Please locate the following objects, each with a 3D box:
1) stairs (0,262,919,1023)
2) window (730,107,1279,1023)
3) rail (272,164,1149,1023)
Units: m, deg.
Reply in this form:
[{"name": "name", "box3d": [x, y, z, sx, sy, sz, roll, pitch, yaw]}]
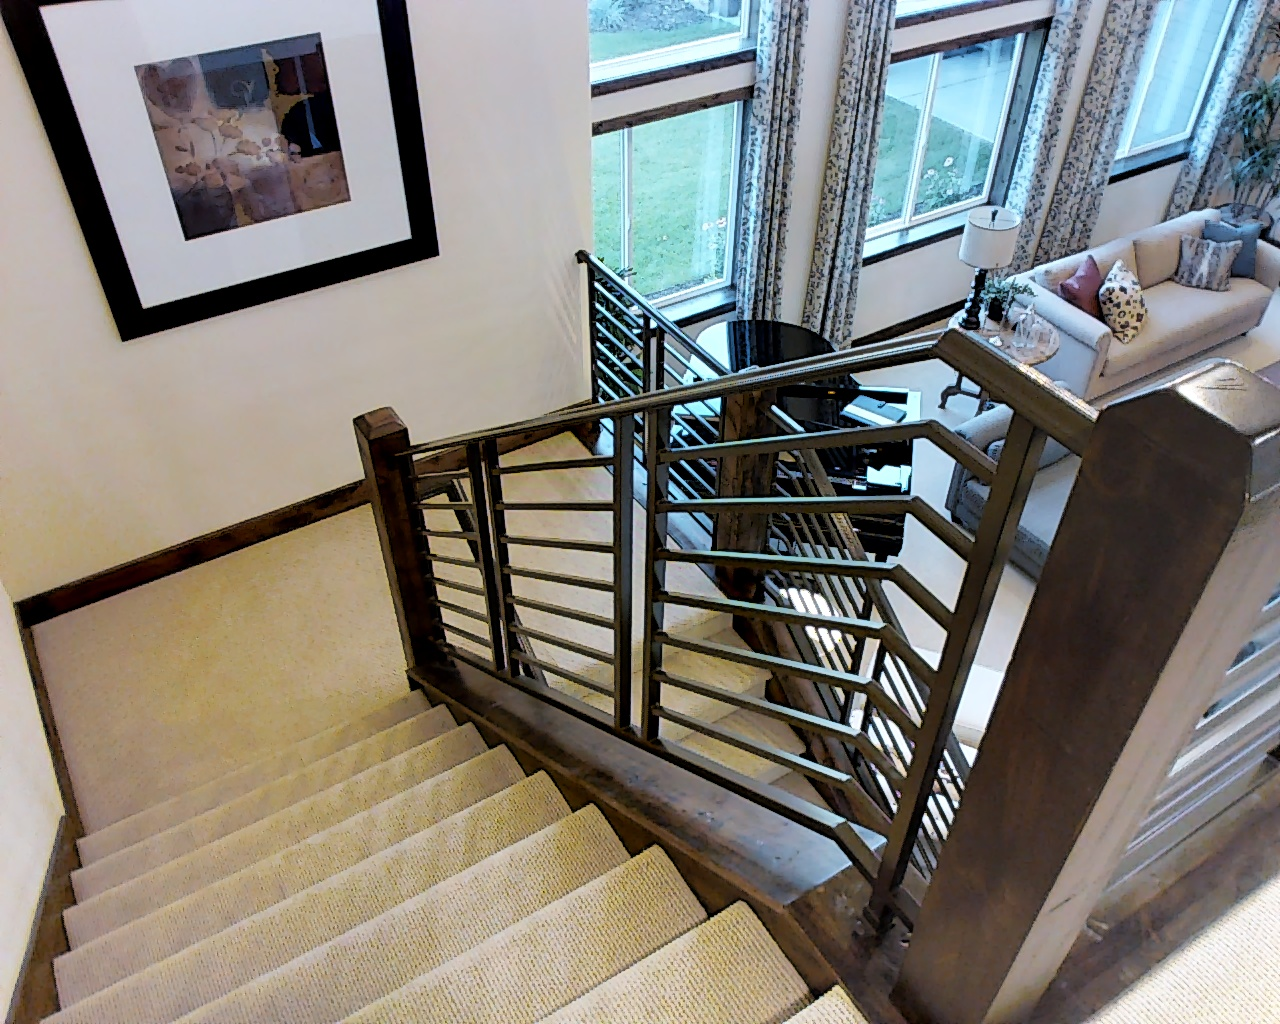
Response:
[{"name": "stairs", "box3d": [-0.750, 0.890, 2.340, 1.200, 1.730, 2.420, -22, 46, -24]}, {"name": "window", "box3d": [0.820, 0.010, 1.420, 1.300, 0.890, 0.490, -22, 46, -24]}, {"name": "rail", "box3d": [-0.170, 0.780, 2.790, 0.280, 2.560, 2.360, -22, 46, -24]}]
